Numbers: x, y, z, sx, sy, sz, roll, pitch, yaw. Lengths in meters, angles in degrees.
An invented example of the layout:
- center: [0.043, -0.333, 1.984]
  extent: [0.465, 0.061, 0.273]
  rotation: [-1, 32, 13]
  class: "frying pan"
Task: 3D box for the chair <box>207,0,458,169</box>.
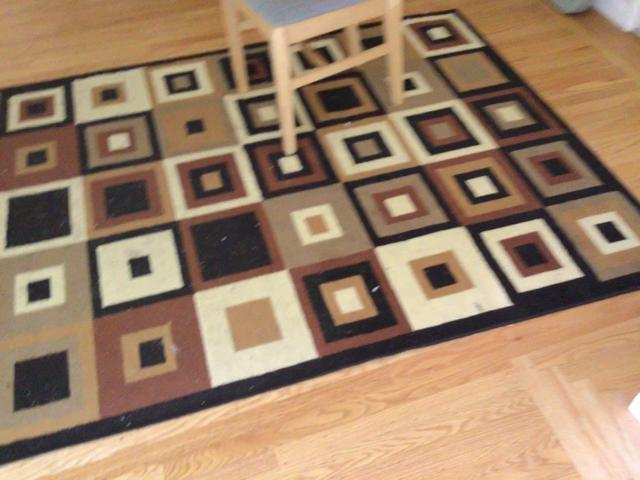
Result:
- center: [0.020, -0.810, 1.740]
  extent: [0.640, 0.950, 0.480]
  rotation: [-20, 51, -16]
  class: "chair"
